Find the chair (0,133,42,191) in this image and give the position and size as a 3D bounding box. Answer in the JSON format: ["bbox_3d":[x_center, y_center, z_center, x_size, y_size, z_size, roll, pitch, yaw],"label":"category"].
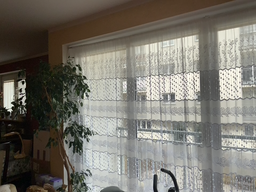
[{"bbox_3d":[-1.720,1.140,3.300,0.390,1.020,0.570,-1,-1,34],"label":"chair"}]
